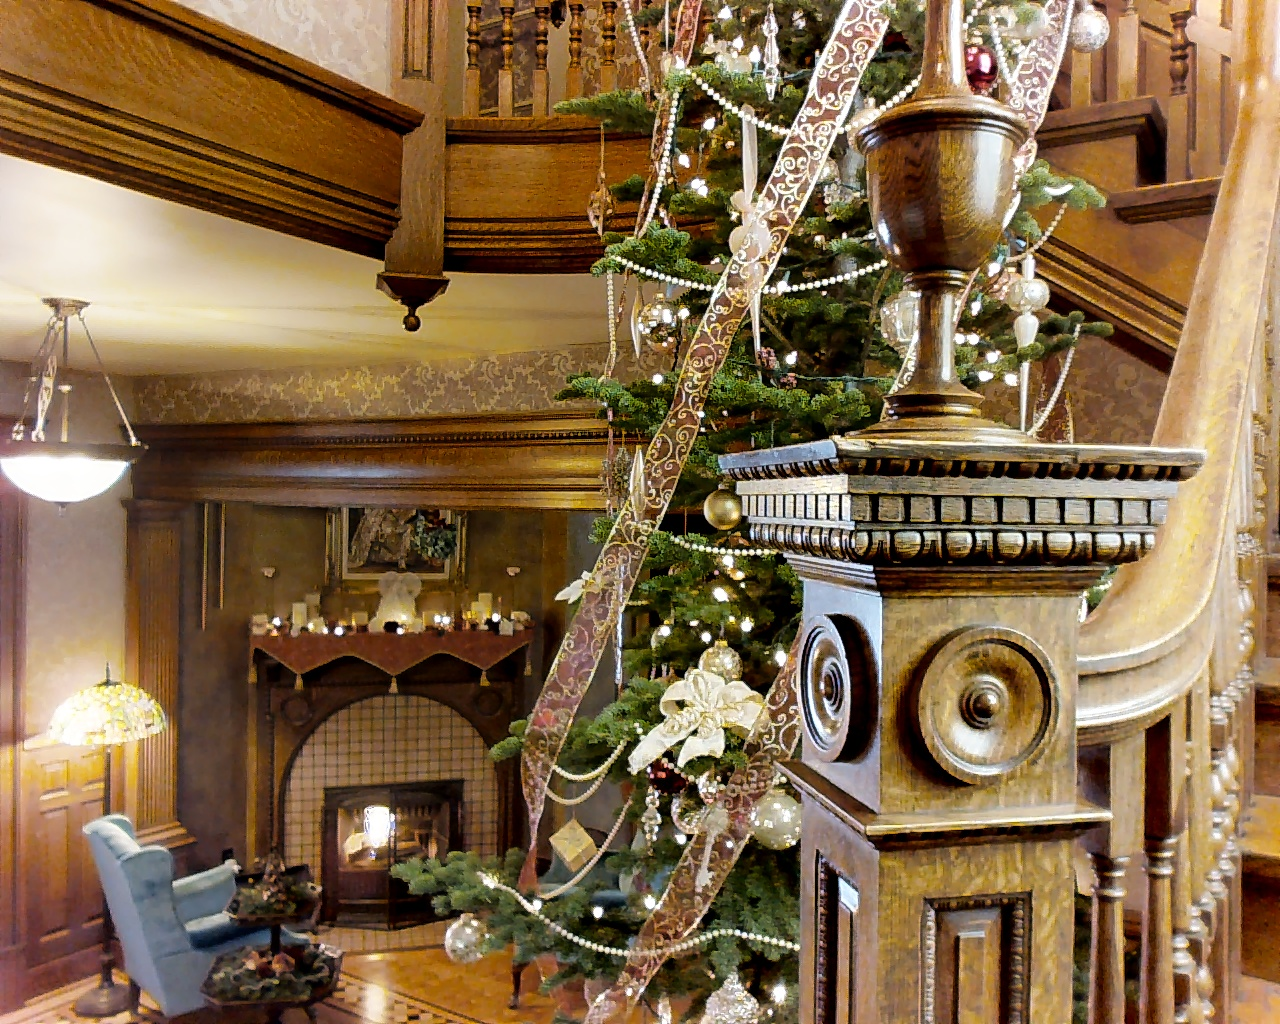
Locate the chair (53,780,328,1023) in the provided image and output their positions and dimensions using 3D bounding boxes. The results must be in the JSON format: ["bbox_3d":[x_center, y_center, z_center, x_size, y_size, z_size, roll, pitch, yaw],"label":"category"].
[{"bbox_3d":[-2.069,1.901,4.980,0.940,1.020,0.770,1,1,-45],"label":"chair"}]
